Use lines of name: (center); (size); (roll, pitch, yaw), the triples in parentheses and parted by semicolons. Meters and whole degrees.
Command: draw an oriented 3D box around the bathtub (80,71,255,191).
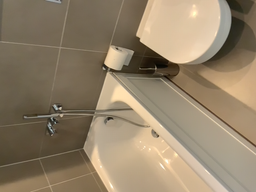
bathtub: (0.410, 0.570, 1.190); (1.660, 0.560, 0.690); (45, 125, 38)

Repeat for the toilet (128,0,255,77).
toilet: (0.390, -0.400, 1.200); (0.530, 0.480, 0.370); (43, 124, 39)

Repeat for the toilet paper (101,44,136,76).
toilet paper: (-0.060, -0.210, 1.270); (0.090, 0.140, 0.160); (46, 126, 37)
